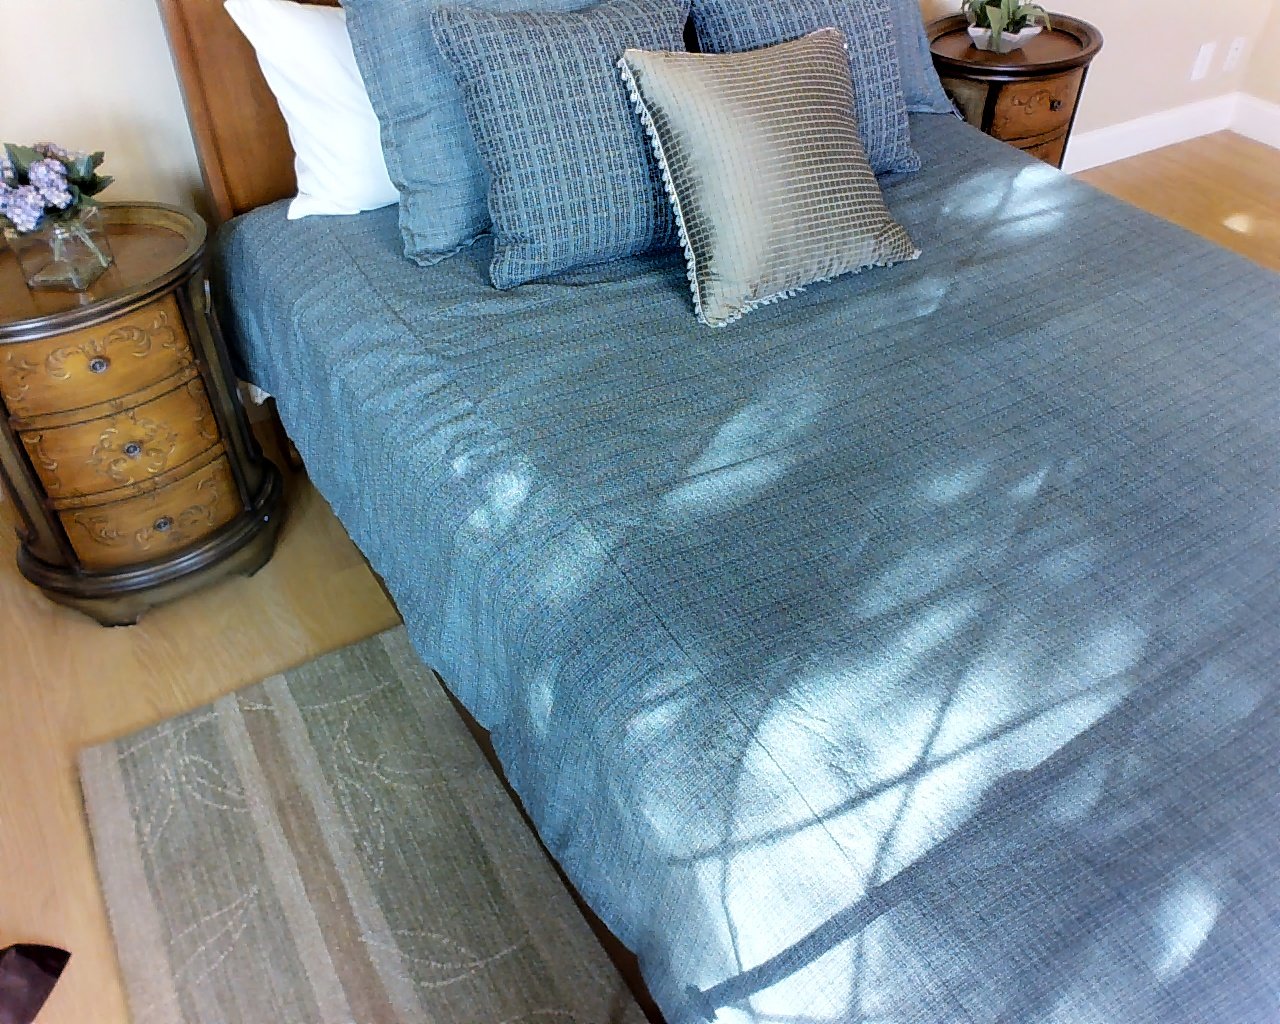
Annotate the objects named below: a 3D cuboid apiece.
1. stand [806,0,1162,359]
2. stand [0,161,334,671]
[{"bbox_3d":[0.890,-0.930,2.930,0.620,0.730,0.490,-21,46,-23],"label":"stand"},{"bbox_3d":[-1.010,-0.190,2.090,0.570,0.720,0.460,-21,46,-22],"label":"stand"}]
